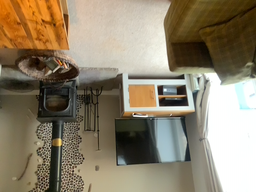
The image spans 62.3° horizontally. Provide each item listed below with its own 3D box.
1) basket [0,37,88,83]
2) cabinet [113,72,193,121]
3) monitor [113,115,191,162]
[{"bbox_3d":[-0.940,-0.390,2.510,0.740,0.180,0.720,-4,163,4],"label":"basket"},{"bbox_3d":[0.350,0.040,3.420,1.100,0.600,0.660,1,163,-11],"label":"cabinet"},{"bbox_3d":[0.360,0.620,3.170,1.150,0.660,0.060,1,162,-14],"label":"monitor"}]
